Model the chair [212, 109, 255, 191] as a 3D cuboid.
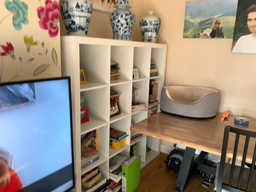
[{"bbox_3d":[0.860,0.640,1.580,0.410,0.950,0.520,7,13,24],"label":"chair"}]
